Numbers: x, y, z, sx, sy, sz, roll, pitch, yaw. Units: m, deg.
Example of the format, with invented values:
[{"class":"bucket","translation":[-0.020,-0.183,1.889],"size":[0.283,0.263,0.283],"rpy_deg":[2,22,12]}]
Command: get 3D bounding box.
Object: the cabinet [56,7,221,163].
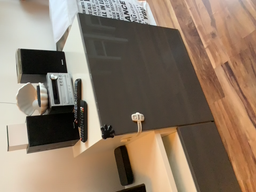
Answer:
[{"class":"cabinet","translation":[0.000,-0.020,1.240],"size":[0.570,0.640,0.600],"rpy_deg":[-41,58,52]}]
